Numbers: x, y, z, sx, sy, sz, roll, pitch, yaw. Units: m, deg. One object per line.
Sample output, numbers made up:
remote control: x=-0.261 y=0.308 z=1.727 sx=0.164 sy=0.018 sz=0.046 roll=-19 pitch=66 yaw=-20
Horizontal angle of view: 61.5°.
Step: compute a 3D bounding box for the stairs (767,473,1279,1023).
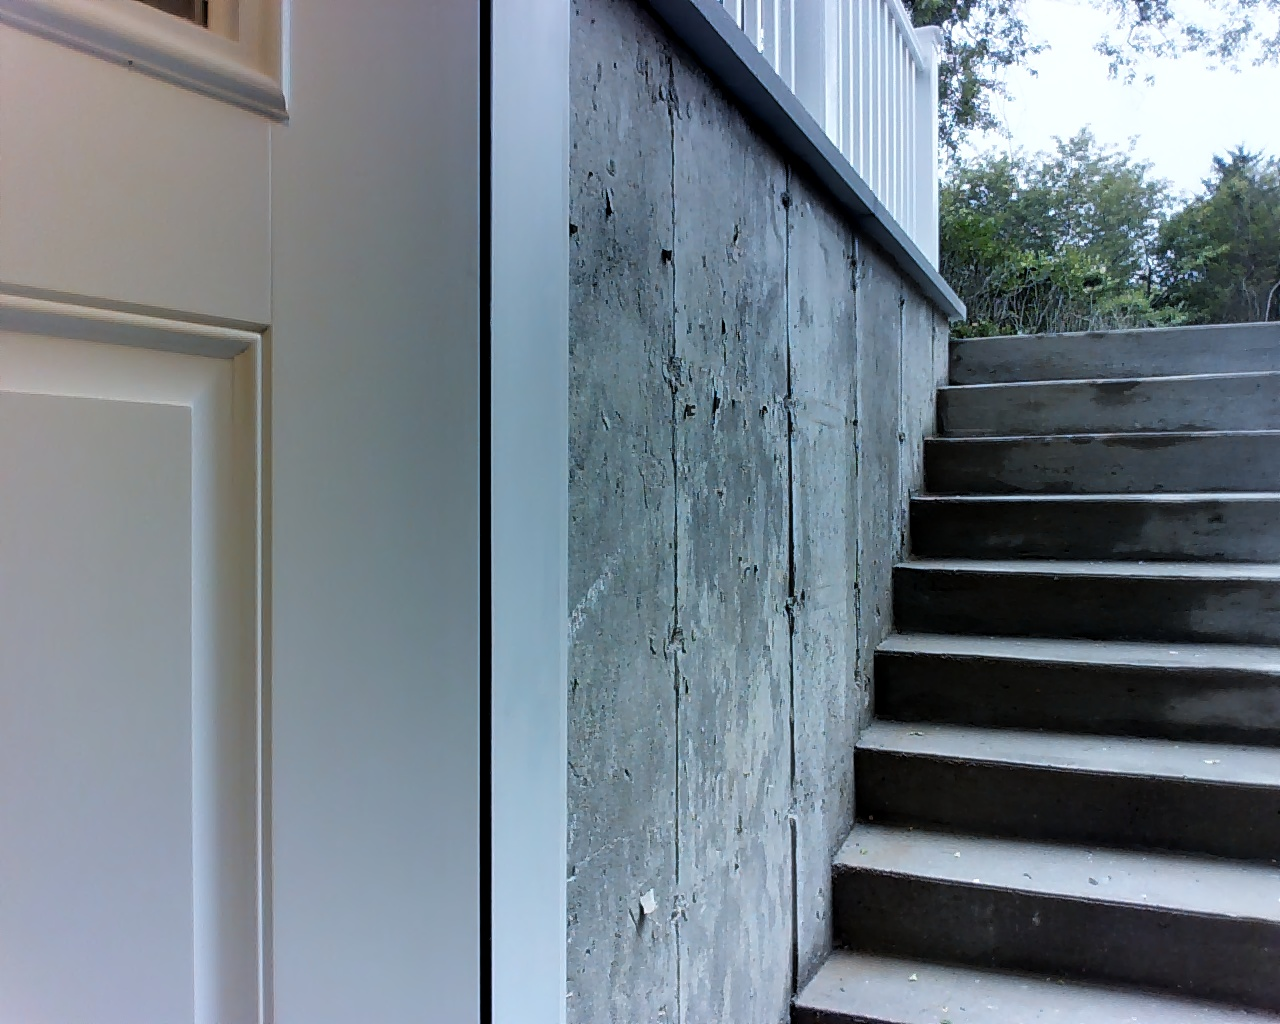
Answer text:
stairs: x=1.040 y=0.800 z=2.270 sx=1.250 sy=0.370 sz=2.730 roll=0 pitch=34 yaw=24
